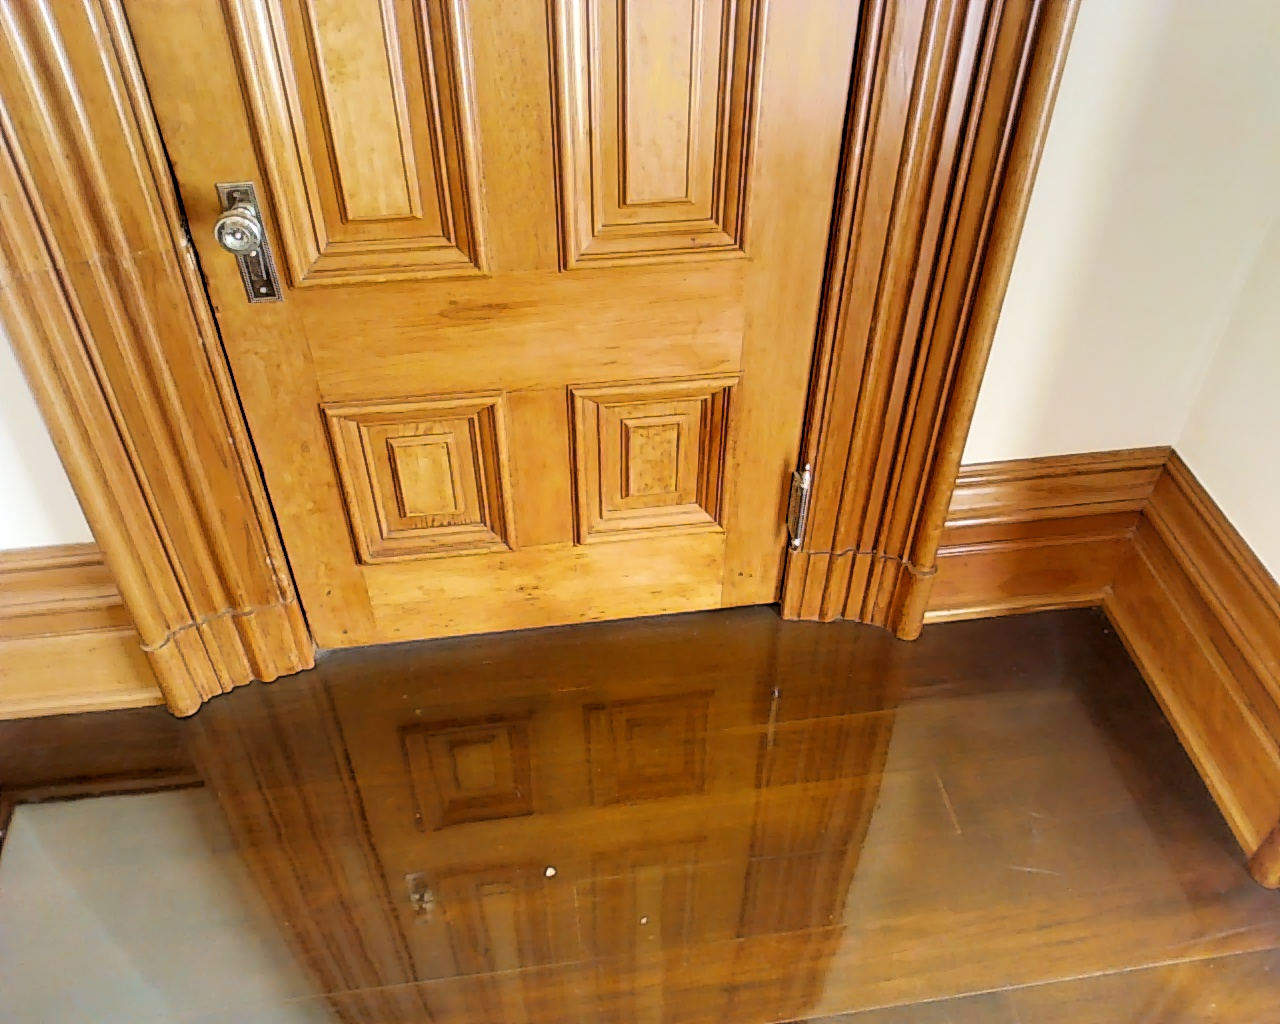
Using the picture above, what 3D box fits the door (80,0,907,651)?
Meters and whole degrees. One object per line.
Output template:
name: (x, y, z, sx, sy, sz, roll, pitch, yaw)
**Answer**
door: (-0.160, -0.620, 1.330, 0.980, 2.240, 0.080, -4, 43, -4)
